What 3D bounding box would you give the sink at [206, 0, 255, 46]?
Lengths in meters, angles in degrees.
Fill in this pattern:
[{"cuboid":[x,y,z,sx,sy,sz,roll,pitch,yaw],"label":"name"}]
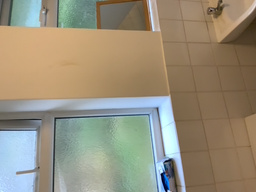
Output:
[{"cuboid":[0.630,-0.650,1.180,0.420,0.180,0.580,119,148,-69],"label":"sink"}]
